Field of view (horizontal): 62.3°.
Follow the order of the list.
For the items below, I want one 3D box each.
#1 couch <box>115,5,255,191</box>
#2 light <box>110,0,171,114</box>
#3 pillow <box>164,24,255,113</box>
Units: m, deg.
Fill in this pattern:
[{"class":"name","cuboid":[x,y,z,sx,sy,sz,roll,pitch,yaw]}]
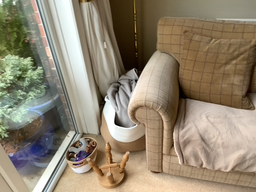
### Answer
[{"class":"couch","cuboid":[1.280,0.040,1.410,2.400,0.920,1.140,8,38,16]},{"class":"light","cuboid":[0.110,-0.680,1.950,0.410,1.800,0.340,-21,39,-21]},{"class":"pillow","cuboid":[0.570,-0.200,1.500,0.530,0.210,0.550,7,79,18]}]
